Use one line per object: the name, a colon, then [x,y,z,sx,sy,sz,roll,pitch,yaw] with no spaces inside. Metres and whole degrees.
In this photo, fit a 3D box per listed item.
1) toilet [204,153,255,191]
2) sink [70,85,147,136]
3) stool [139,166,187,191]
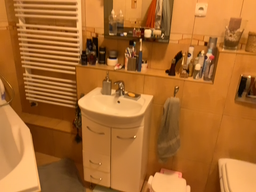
toilet: [0.760,0.780,1.470,0.360,0.480,0.510,9,23,14]
sink: [-0.120,0.080,1.560,0.440,0.150,0.410,9,23,14]
stool: [0.280,0.800,1.730,0.330,0.200,0.340,10,23,17]
